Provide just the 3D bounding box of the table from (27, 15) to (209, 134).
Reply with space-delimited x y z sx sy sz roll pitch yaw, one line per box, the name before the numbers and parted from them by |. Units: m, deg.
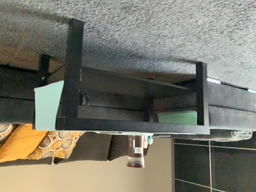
table | -0.040 -0.010 1.290 0.910 0.450 0.580 8 169 -35
